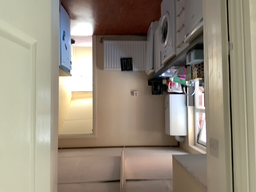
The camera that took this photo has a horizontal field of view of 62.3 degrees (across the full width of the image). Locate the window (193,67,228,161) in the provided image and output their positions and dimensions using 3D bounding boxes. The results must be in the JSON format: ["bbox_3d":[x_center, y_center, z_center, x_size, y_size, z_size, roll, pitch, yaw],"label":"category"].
[{"bbox_3d":[1.280,0.260,3.350,0.250,1.330,0.710,0,178,-1],"label":"window"}]
